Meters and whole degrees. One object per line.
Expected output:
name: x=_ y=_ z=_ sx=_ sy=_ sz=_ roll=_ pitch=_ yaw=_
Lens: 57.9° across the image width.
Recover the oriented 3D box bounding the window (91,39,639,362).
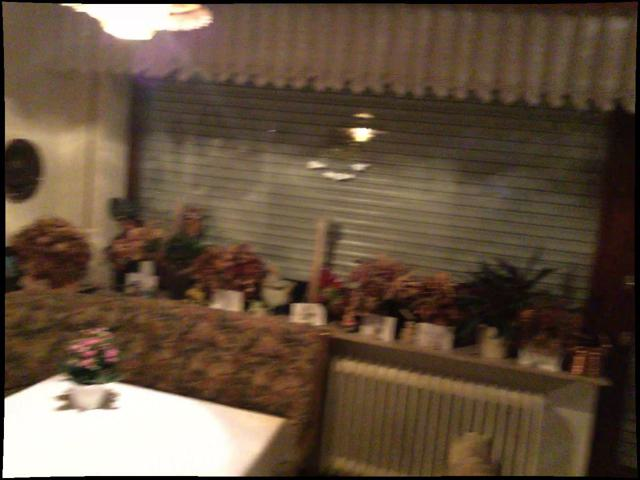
window: x=0.200 y=-0.270 z=2.780 sx=2.678 sy=1.101 sz=0.420 roll=9 pitch=8 yaw=16

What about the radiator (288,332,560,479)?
radiator: x=0.450 y=0.901 z=2.690 sx=1.119 sy=0.691 sz=0.220 roll=9 pitch=8 yaw=16
